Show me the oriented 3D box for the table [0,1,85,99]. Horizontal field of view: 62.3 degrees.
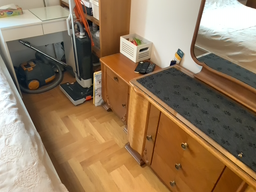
[{"bbox_3d":[-0.960,-0.540,2.370,0.730,0.780,0.550,-22,44,-29],"label":"table"}]
